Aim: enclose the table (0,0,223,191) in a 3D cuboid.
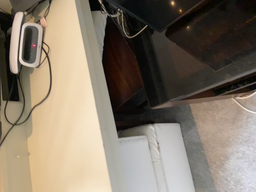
[{"bbox_3d":[-0.100,0.210,1.040,0.730,0.750,1.260,-20,73,33],"label":"table"}]
